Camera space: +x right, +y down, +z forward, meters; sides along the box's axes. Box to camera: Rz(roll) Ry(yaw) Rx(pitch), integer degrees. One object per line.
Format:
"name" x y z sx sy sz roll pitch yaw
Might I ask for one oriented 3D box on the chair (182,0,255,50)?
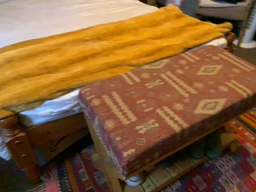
"chair" 1.000 -1.030 2.290 0.580 0.780 0.570 16 44 17

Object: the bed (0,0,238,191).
"bed" -0.470 -0.520 1.880 1.500 0.500 2.050 -23 47 -25

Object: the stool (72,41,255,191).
"stool" 0.210 0.150 1.090 0.800 0.560 0.410 -21 46 -23
